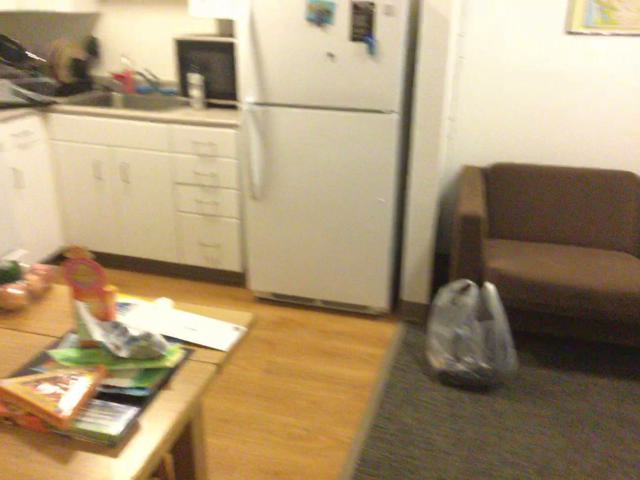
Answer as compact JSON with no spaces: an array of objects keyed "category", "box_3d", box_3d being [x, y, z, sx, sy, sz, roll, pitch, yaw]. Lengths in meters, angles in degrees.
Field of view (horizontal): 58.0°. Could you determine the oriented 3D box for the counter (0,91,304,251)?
[{"category":"counter","box_3d":[-1.290,-0.460,2.550,1.790,0.050,2.220,6,23,17]}]
